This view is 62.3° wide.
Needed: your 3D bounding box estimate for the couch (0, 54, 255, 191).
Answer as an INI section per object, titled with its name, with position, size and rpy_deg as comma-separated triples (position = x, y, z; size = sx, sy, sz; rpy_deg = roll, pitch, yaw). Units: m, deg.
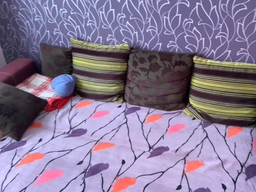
[couch]
position = -0.190, 0.420, 1.470
size = 2.530, 0.630, 1.550
rpy_deg = 9, 34, 12
